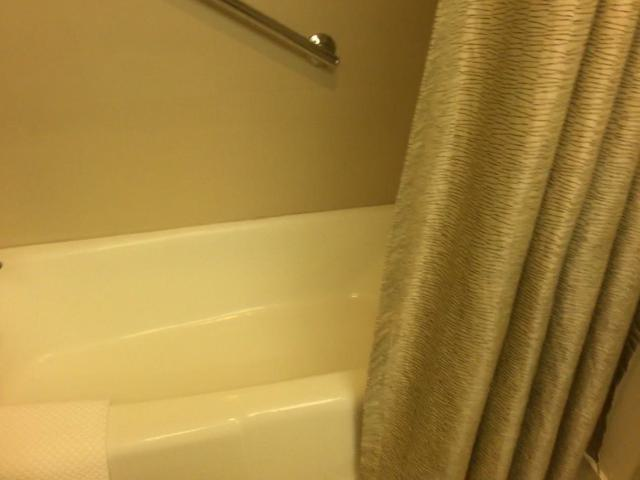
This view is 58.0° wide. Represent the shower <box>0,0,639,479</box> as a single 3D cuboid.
[{"bbox_3d":[-0.160,-0.550,0.890,1.510,1.820,0.890,-8,35,-13],"label":"shower"}]
